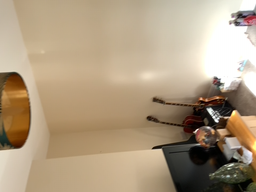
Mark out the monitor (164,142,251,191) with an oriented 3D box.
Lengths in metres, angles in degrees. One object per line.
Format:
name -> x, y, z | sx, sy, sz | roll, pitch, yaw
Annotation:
monitor -> 0.760, 0.860, 1.840 | 1.050, 0.620, 0.070 | -104, 14, -50
